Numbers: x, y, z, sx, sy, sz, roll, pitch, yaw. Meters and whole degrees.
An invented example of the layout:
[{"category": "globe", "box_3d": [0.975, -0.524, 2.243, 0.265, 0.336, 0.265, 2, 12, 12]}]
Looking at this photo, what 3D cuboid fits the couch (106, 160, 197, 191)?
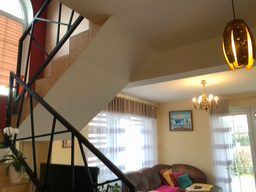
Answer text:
[{"category": "couch", "box_3d": [0.710, 2.130, 5.090, 1.100, 0.870, 2.510, -8, -13, 33]}]
